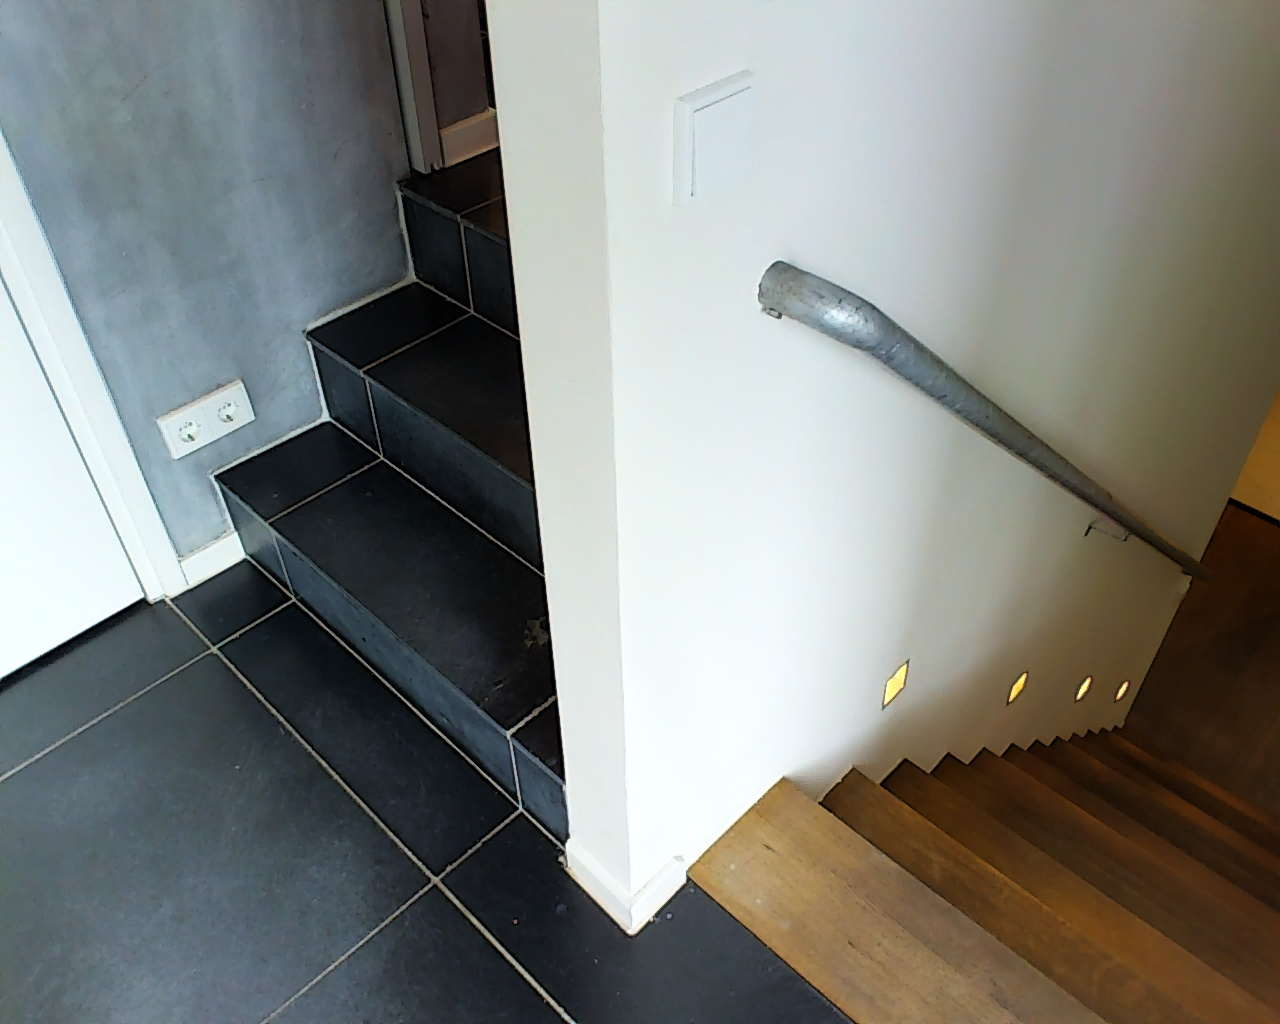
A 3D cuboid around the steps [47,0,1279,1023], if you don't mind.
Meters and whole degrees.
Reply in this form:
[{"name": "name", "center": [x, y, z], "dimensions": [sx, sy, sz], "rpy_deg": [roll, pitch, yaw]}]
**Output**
[{"name": "steps", "center": [0.100, 0.100, 1.460], "dimensions": [1.760, 1.040, 0.670], "rpy_deg": [33, 52, 32]}]
